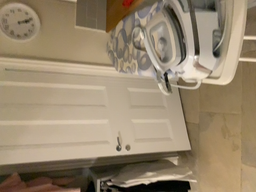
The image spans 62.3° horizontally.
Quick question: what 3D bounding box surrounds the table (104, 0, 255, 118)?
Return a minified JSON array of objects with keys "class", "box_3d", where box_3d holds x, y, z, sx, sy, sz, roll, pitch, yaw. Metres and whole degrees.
[{"class":"table","box_3d":[0.490,-0.330,1.620,1.480,0.910,0.560,-151,66,-64]}]
